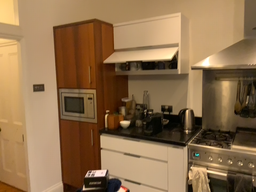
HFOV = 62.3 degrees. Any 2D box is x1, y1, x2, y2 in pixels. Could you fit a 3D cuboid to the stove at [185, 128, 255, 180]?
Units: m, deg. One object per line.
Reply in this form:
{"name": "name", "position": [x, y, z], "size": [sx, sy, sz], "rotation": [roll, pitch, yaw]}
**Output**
{"name": "stove", "position": [1.100, 0.520, 1.930], "size": [1.000, 0.200, 0.600], "rotation": [3, 7, 30]}

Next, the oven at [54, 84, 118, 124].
{"name": "oven", "position": [-0.550, 0.070, 2.860], "size": [0.600, 0.420, 0.590], "rotation": [3, 7, 30]}
